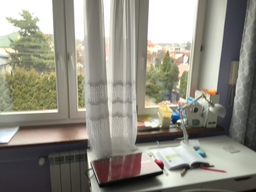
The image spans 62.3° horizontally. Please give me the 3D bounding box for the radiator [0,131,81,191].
[{"bbox_3d":[-0.800,0.750,1.840,0.750,0.800,0.280,-1,13,-11],"label":"radiator"}]
